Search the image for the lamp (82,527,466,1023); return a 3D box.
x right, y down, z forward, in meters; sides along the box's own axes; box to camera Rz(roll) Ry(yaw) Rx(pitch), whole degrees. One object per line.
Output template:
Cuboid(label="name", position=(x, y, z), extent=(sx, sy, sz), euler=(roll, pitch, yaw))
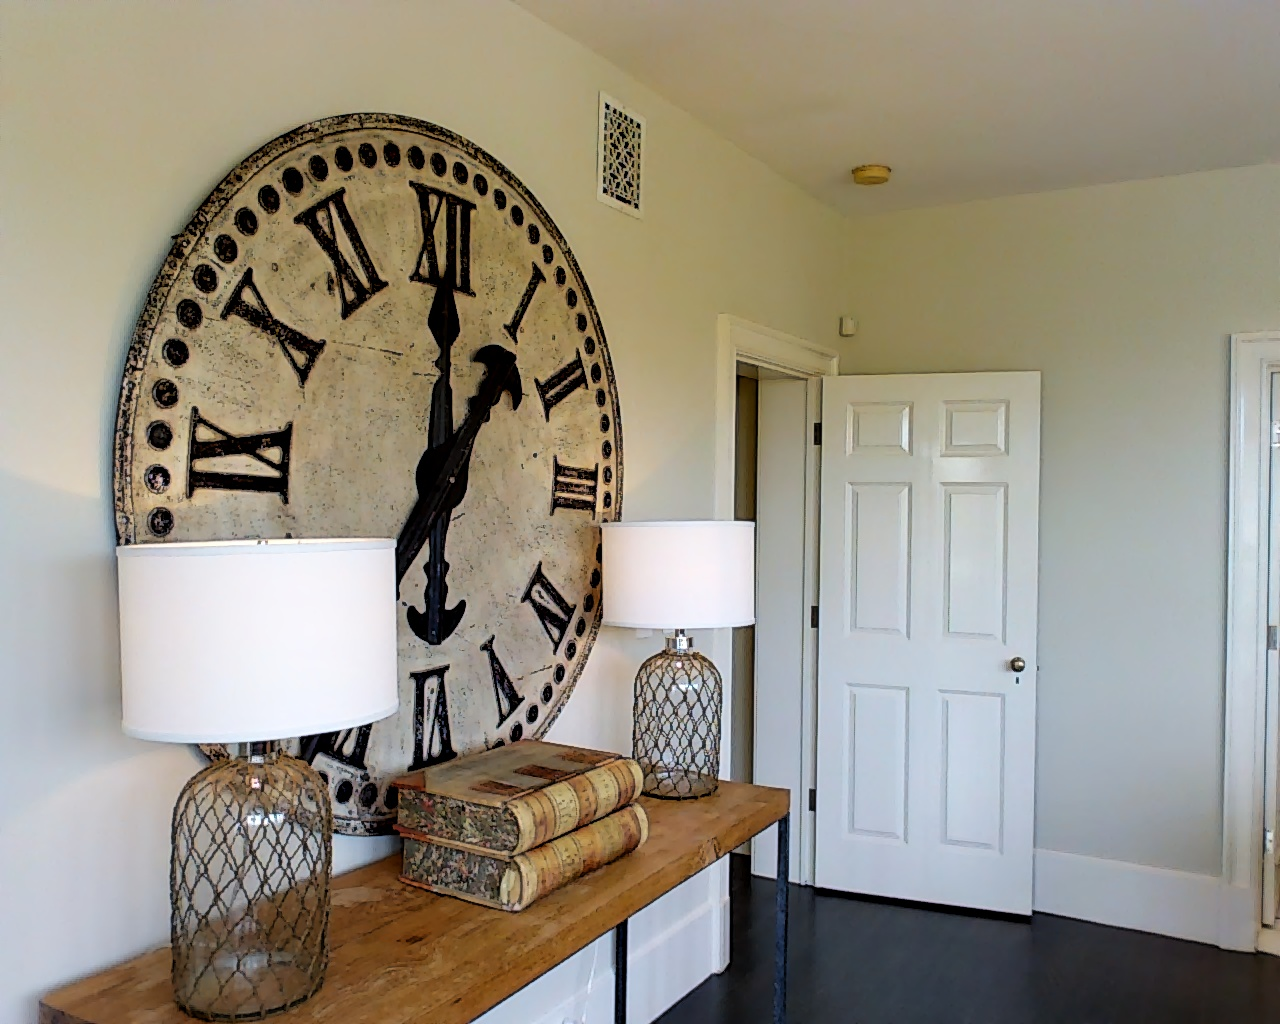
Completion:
Cuboid(label="lamp", position=(-0.530, 0.370, 1.600), extent=(0.350, 0.680, 0.400), euler=(1, 1, 31))

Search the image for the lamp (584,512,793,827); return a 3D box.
Cuboid(label="lamp", position=(0.130, 0.360, 2.730), extent=(0.360, 0.710, 0.420), euler=(1, 1, 31))
